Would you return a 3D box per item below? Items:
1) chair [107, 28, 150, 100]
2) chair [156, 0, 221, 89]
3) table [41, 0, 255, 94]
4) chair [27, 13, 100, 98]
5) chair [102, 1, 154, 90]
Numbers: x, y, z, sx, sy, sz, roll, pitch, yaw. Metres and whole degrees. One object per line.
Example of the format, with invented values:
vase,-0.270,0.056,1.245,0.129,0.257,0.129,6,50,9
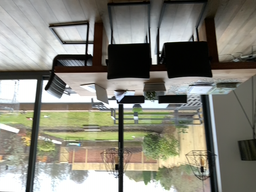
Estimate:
chair,0.020,-0.430,3.080,0.550,0.860,0.590,-1,166,2
chair,0.640,-0.580,2.450,0.520,0.870,0.600,0,166,0
table,0.210,-0.550,2.760,2.200,0.780,1.030,-1,166,3
chair,-0.790,-0.490,2.790,0.660,0.880,0.590,-3,166,12
chair,0.000,-0.560,2.510,0.520,0.870,0.550,0,166,0
